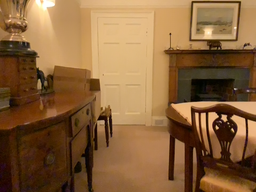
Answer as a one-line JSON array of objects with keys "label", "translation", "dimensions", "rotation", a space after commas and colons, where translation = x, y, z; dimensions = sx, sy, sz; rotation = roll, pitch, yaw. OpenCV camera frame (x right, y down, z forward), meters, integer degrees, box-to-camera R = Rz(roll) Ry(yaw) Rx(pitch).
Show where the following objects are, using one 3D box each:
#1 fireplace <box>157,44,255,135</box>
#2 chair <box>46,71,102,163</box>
[{"label": "fireplace", "translation": [1.430, -0.170, 3.770], "dimensions": [1.630, 1.340, 1.360], "rotation": [0, 8, 1]}, {"label": "chair", "translation": [-0.590, 0.200, 2.500], "dimensions": [0.480, 0.960, 0.570], "rotation": [0, 8, 2]}]
